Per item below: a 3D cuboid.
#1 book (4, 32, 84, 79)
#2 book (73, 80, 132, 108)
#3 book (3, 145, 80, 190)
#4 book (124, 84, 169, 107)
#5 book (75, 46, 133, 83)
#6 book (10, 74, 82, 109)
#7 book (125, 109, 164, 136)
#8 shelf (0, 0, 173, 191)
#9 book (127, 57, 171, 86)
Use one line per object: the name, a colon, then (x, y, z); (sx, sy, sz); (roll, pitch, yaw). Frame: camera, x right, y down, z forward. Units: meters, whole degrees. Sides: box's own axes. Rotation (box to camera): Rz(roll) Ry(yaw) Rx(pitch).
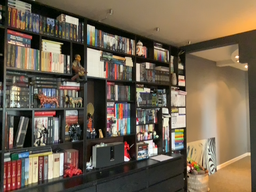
book: (-0.830, -0.380, 2.180); (0.740, 0.340, 0.210); (2, -3, -42)
book: (-0.300, -0.010, 2.720); (0.750, 0.320, 0.230); (2, -3, -42)
book: (-0.850, 0.690, 2.150); (0.680, 0.270, 0.230); (2, -3, -42)
book: (0.310, 0.010, 3.280); (0.790, 0.320, 0.210); (2, -3, -42)
book: (-0.280, -0.370, 2.700); (0.760, 0.350, 0.180); (2, -3, -42)
book: (-0.820, -0.030, 2.200); (0.690, 0.310, 0.150); (2, -3, -42)
book: (0.260, 0.380, 3.210); (0.650, 0.360, 0.190); (2, -3, -42)
shelf: (-0.530, -0.040, 2.470); (3.270, 1.830, 0.230); (2, -3, -44)
book: (0.340, -0.350, 3.250); (0.780, 0.350, 0.190); (2, -3, -42)
